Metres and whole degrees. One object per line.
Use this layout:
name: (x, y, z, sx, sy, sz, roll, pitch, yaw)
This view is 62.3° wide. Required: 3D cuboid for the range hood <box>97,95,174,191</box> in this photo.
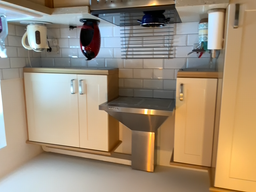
range hood: (0.090, 0.380, 1.900, 0.560, 0.680, 0.470, 3, -169, 18)
